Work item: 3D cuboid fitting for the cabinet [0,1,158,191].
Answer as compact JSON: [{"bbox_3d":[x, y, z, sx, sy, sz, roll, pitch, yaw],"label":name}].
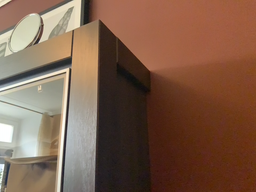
[{"bbox_3d":[-0.650,0.200,0.820,1.480,0.490,0.310,-11,-21,25],"label":"cabinet"}]
